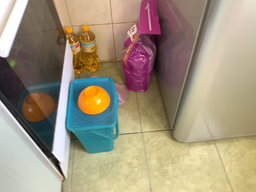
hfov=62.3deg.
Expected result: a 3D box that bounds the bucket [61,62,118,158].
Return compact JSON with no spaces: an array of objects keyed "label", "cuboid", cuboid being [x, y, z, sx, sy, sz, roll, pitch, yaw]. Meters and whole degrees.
[{"label":"bucket","cuboid":[-0.130,0.060,0.830,0.160,0.270,0.260,-4,52,-2]}]
